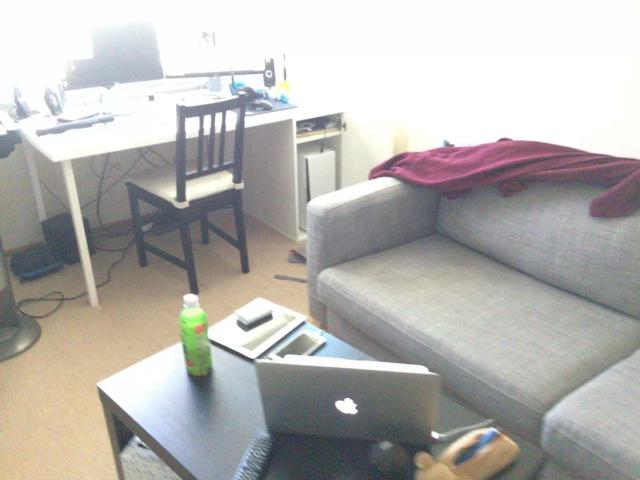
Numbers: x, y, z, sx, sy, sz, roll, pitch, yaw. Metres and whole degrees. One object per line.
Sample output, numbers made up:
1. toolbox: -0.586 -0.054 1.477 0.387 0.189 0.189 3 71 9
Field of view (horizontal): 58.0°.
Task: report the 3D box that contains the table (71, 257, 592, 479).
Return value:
1. table: 0.000 0.540 1.390 0.950 0.550 0.650 20 33 37
